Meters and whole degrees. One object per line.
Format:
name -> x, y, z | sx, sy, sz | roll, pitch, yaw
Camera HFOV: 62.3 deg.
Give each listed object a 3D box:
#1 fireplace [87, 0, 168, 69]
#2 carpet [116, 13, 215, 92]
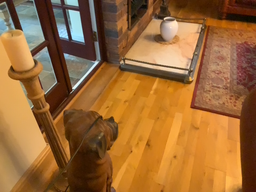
fireplace -> 0.080, -1.150, 2.210 | 0.480, 1.210, 1.190 | 14, 43, 16
carpet -> 0.510, -0.610, 2.460 | 0.810, 0.130, 1.390 | 14, 43, 16
